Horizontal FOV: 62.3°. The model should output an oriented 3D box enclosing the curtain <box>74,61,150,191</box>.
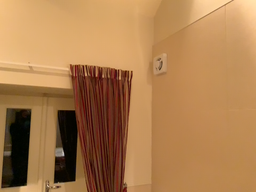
[{"bbox_3d":[-0.130,0.800,1.510,0.460,2.010,0.300,4,-6,-25],"label":"curtain"}]
